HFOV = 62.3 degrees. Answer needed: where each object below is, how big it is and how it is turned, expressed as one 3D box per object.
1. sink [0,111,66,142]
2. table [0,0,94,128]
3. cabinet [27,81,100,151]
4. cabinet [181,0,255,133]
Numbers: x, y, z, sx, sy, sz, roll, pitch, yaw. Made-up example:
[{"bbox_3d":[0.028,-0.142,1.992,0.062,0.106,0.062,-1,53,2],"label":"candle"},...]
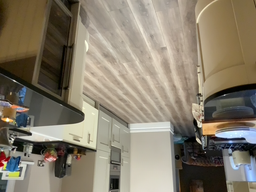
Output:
[{"bbox_3d":[-1.190,0.410,2.680,0.500,0.240,0.610,-7,158,18],"label":"sink"},{"bbox_3d":[-1.200,-0.300,1.680,1.490,0.900,0.990,-7,158,18],"label":"table"},{"bbox_3d":[-0.980,0.390,3.510,0.620,0.890,0.980,-7,158,18],"label":"cabinet"},{"bbox_3d":[0.810,-0.270,1.700,0.600,0.910,1.110,-7,158,18],"label":"cabinet"}]
